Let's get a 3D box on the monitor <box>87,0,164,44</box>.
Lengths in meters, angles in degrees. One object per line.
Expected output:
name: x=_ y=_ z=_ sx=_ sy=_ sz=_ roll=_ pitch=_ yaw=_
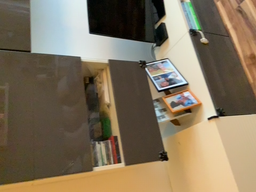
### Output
monitor: x=-0.040 y=-0.880 z=1.640 sx=0.080 sy=0.570 sz=0.930 roll=-28 pitch=65 yaw=61
